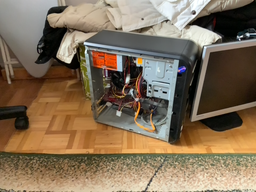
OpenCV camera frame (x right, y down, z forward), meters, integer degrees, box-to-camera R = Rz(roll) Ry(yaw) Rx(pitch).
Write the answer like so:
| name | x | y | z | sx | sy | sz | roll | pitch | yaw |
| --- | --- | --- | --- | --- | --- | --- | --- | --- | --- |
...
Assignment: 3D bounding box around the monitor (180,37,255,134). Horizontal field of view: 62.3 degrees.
| name | x | y | z | sx | sy | sz | roll | pitch | yaw |
| --- | --- | --- | --- | --- | --- | --- | --- | --- | --- |
| monitor | 0.430 | -0.040 | 0.870 | 0.400 | 0.390 | 0.040 | -10 | 35 | -14 |
